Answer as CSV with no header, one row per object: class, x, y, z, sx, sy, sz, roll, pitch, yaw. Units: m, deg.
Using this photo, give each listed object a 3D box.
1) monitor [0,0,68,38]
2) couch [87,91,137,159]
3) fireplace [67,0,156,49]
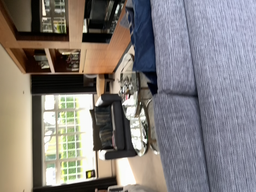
monitor,-1.320,-1.240,3.100,1.530,0.840,0.060,144,123,-72
couch,-0.420,0.640,4.580,1.120,0.790,1.240,137,128,-70
fireplace,-0.360,-1.390,3.340,1.980,1.150,0.510,144,123,-72
